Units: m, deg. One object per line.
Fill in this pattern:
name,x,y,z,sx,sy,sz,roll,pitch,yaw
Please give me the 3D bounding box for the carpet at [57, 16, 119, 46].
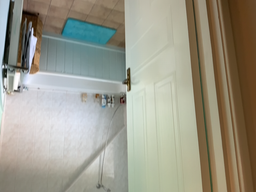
carpet,-0.500,-0.780,2.630,0.670,0.050,0.420,4,167,-26
